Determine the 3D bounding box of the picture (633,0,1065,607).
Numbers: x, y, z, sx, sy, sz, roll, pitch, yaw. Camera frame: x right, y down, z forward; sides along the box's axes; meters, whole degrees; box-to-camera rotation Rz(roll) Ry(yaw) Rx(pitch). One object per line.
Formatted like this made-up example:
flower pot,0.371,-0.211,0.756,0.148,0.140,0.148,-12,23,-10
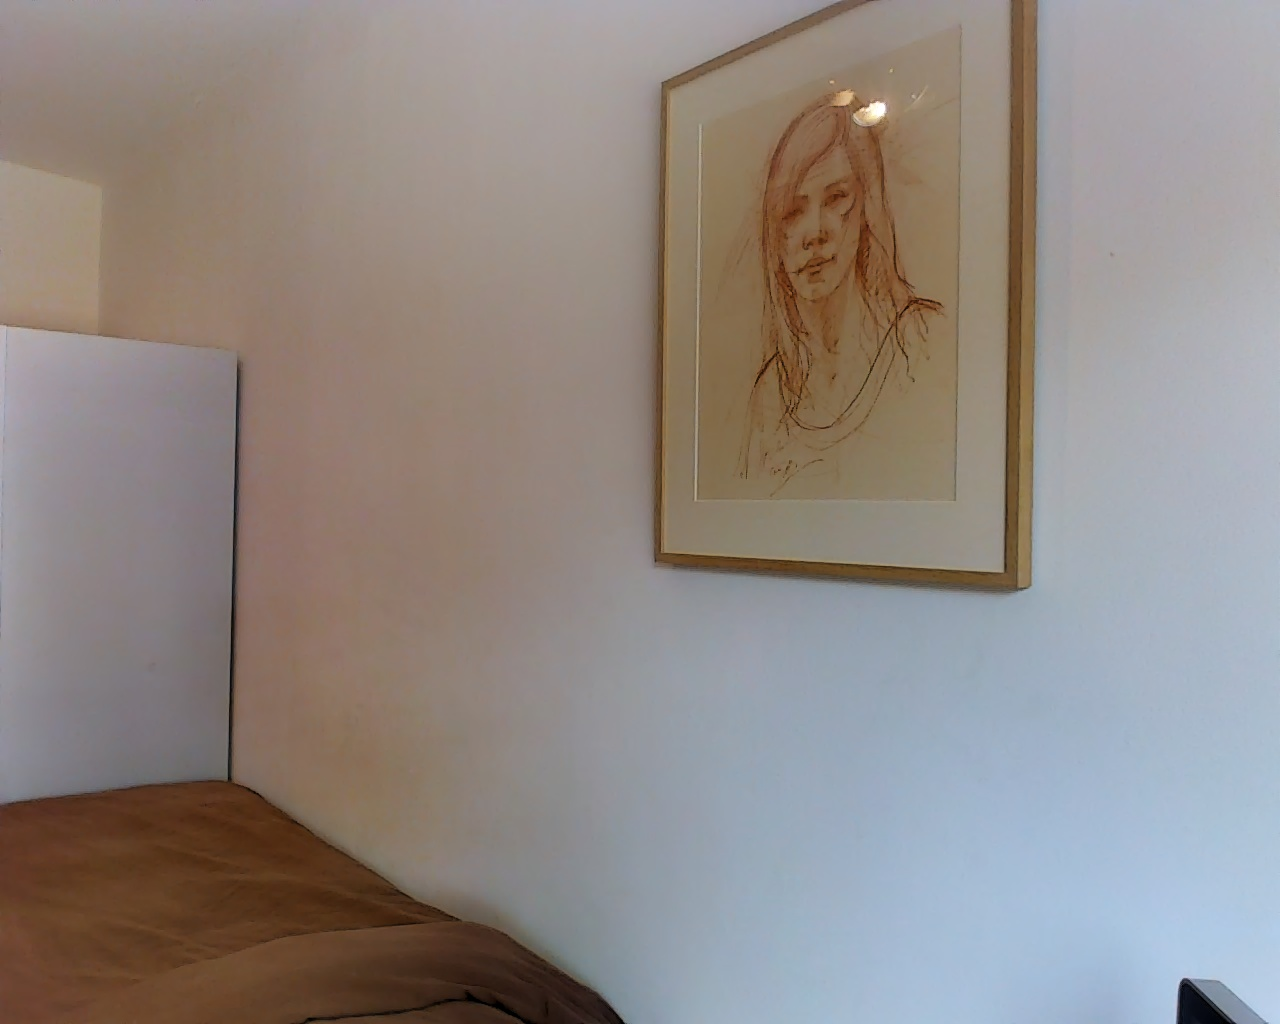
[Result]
picture,0.230,-0.300,1.430,0.040,0.790,0.670,1,0,-40
